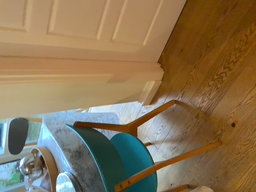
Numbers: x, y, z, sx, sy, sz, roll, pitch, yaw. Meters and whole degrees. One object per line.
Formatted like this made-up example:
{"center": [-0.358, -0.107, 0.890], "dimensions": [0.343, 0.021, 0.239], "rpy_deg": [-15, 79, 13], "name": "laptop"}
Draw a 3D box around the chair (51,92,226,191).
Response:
{"center": [0.070, 0.340, 1.220], "dimensions": [0.440, 0.790, 0.510], "rpy_deg": [44, 124, 35], "name": "chair"}
